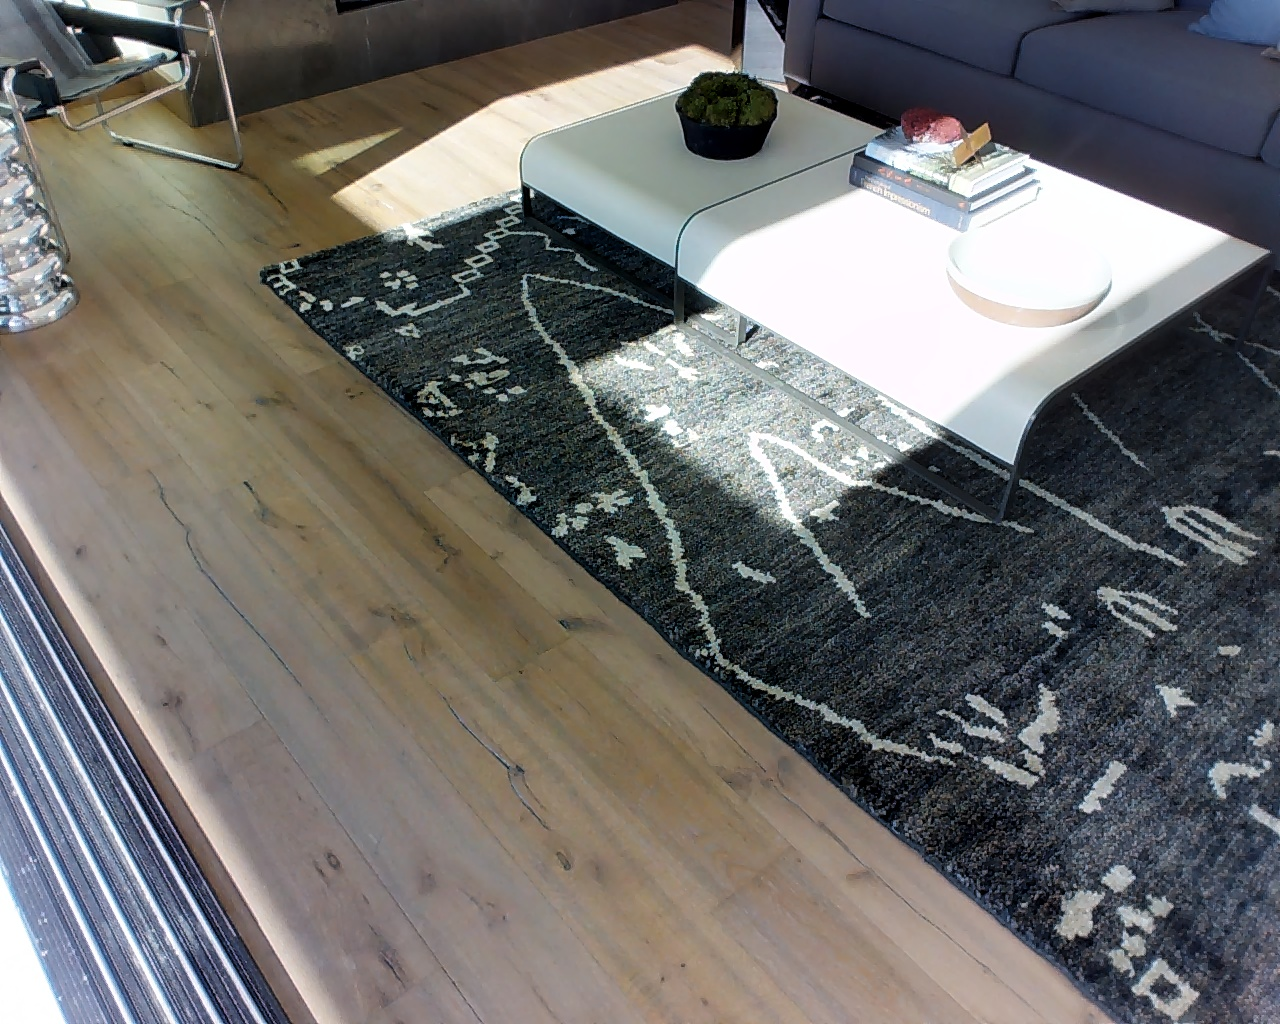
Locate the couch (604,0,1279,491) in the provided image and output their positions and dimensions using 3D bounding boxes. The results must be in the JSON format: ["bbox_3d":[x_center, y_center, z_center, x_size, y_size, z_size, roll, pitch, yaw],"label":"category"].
[{"bbox_3d":[1.820,-1.000,3.090,1.890,0.620,3.820,-29,49,-29],"label":"couch"}]
